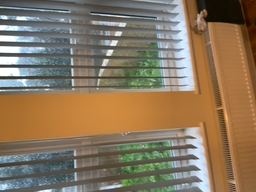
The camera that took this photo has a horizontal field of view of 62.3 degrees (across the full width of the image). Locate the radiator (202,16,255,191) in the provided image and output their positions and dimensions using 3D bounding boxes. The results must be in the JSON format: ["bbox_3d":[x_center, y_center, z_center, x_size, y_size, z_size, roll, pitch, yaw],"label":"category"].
[{"bbox_3d":[0.800,0.130,1.560,0.110,0.280,1.480,145,122,-70],"label":"radiator"}]
